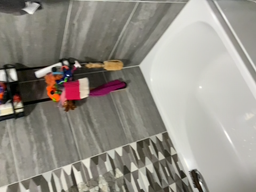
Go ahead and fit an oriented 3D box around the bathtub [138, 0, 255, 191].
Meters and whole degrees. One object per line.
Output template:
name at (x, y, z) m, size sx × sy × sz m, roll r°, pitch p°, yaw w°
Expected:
bathtub at (0.720, 0.320, 1.180) m, size 0.670 × 0.550 × 1.610 m, roll -48°, pitch 59°, yaw 55°
